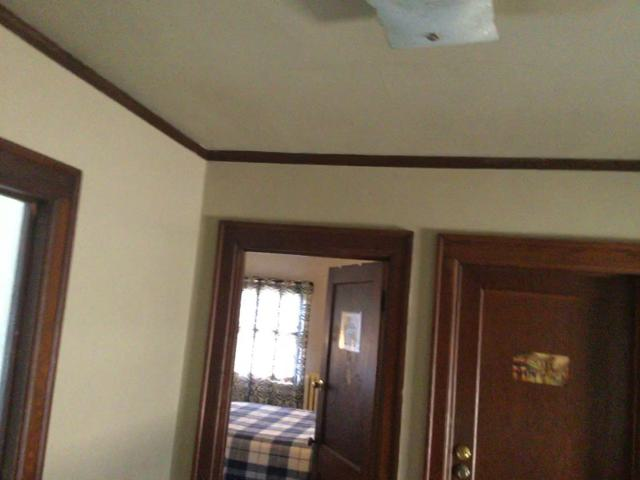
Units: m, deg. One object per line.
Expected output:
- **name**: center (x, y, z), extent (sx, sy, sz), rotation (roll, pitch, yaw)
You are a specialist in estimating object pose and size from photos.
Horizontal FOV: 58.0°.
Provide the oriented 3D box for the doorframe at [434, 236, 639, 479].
- **doorframe**: center (1.020, 1.040, 2.540), extent (1.000, 2.020, 0.330), rotation (5, -12, 14)
